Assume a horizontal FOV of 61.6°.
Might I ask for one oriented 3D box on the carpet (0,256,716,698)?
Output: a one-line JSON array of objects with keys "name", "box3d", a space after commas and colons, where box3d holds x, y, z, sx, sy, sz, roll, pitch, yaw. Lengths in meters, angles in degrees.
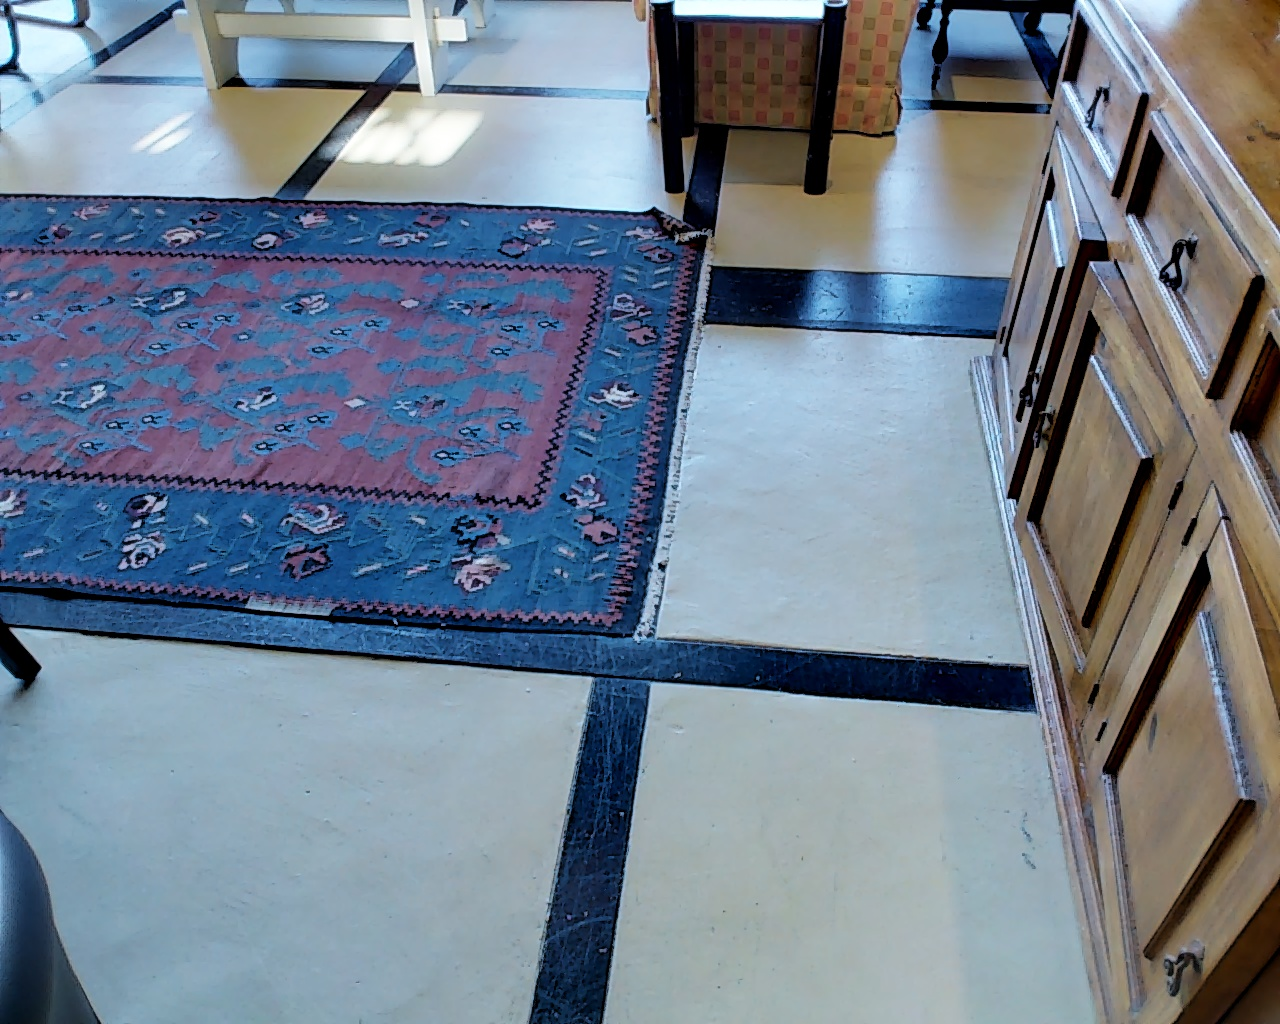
[{"name": "carpet", "box3d": [-1.110, -0.210, 2.250, 2.451, 0.010, 1.250, 4, 41, 6]}]
